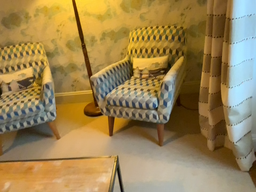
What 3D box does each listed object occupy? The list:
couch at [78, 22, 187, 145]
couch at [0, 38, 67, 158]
[{"bbox_3d":[0.150,-0.180,2.060,0.720,0.850,0.860,3,28,22],"label":"couch"},{"bbox_3d":[-1.110,-0.040,2.150,0.720,0.840,0.860,-15,27,-13],"label":"couch"}]
